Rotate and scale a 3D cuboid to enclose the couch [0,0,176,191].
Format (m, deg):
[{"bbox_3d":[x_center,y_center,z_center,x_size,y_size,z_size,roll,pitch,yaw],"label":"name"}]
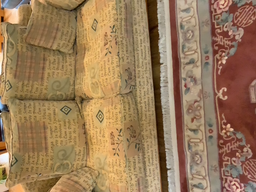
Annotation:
[{"bbox_3d":[-0.430,0.010,1.660,1.150,0.910,2.010,-7,86,46],"label":"couch"}]
